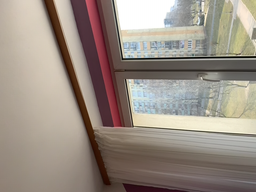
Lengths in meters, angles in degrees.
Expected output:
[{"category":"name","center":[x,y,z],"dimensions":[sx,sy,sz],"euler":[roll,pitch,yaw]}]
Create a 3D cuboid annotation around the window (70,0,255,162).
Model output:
[{"category":"window","center":[0.470,-0.390,1.350],"dimensions":[0.130,1.620,2.320],"euler":[-71,-22,-50]}]
